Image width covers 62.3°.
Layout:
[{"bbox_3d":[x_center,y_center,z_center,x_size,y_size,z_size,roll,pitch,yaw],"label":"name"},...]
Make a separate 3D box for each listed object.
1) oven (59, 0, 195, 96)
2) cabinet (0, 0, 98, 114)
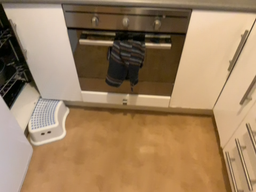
[{"bbox_3d":[0.010,-0.450,1.370,0.610,0.600,0.620,4,49,2],"label":"oven"},{"bbox_3d":[-0.440,-0.390,1.490,0.280,0.880,0.600,4,49,2],"label":"cabinet"}]
